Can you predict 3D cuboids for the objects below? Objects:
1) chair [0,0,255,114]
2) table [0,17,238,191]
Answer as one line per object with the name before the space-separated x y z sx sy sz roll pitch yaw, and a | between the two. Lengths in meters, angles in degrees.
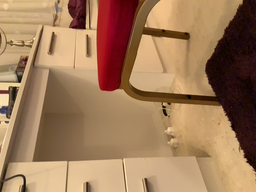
chair | -0.050 -0.310 0.690 0.580 0.840 0.480 104 162 -49
table | -0.110 0.180 1.100 0.510 0.790 1.270 104 162 -47
